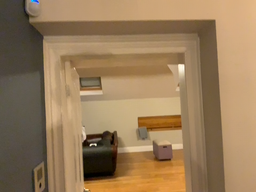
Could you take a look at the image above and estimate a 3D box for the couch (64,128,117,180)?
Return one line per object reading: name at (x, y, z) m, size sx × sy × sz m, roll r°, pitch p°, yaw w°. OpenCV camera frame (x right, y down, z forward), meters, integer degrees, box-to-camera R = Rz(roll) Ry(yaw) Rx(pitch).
couch at (-0.920, 1.430, 5.720) m, size 1.130 × 0.800 × 2.130 m, roll -3°, pitch -1°, yaw -6°
